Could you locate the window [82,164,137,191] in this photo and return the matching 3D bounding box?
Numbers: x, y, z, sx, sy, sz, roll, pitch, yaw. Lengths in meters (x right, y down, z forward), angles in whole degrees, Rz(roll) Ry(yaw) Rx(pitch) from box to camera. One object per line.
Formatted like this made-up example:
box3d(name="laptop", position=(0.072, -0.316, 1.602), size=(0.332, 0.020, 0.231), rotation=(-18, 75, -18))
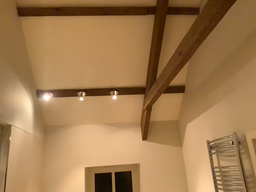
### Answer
box3d(name="window", position=(-0.310, 1.800, 3.680), size=(0.960, 1.110, 0.080), rotation=(-3, -19, -6))
